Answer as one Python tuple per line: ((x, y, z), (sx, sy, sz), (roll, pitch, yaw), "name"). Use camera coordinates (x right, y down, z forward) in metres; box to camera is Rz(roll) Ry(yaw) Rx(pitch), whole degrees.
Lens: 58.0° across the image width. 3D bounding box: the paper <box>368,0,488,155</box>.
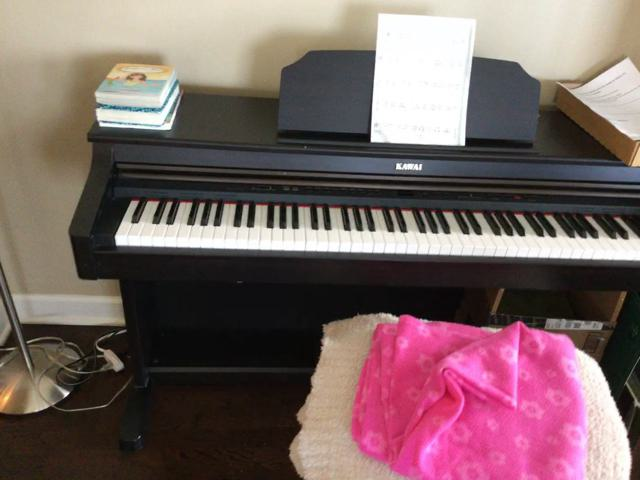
((0.230, -0.350, 1.270), (0.220, 0.310, 0.090), (2, 12, -4), "paper")
